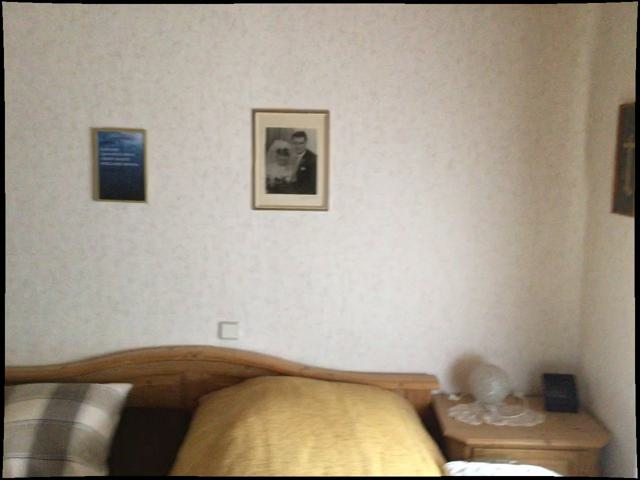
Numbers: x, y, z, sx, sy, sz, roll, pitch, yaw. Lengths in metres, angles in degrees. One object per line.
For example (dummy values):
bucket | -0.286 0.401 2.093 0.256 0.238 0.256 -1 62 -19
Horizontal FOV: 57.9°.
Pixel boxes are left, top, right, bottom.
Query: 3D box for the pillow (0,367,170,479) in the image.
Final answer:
pillow | -1.089 0.751 2.140 0.829 0.260 0.790 -1 10 2

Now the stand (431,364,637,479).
stand | 0.799 0.791 2.300 0.629 0.420 0.490 -1 10 2

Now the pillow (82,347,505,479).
pillow | -0.060 0.701 2.020 1.119 0.320 0.950 -1 10 2
